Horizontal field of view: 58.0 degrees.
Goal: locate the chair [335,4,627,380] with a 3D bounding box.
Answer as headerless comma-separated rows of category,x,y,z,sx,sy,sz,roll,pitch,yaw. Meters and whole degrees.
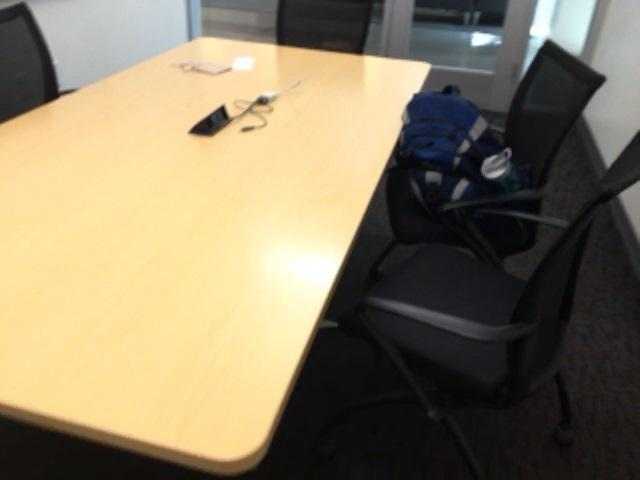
chair,0.470,-0.190,1.830,0.620,0.890,0.670,13,34,16

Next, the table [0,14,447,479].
table,-0.300,-0.060,1.780,1.140,0.750,2.110,9,33,11

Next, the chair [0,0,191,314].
chair,-0.850,-0.290,1.930,0.610,0.880,0.460,9,33,11

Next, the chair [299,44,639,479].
chair,0.350,0.100,1.290,0.600,0.860,0.540,16,35,21
